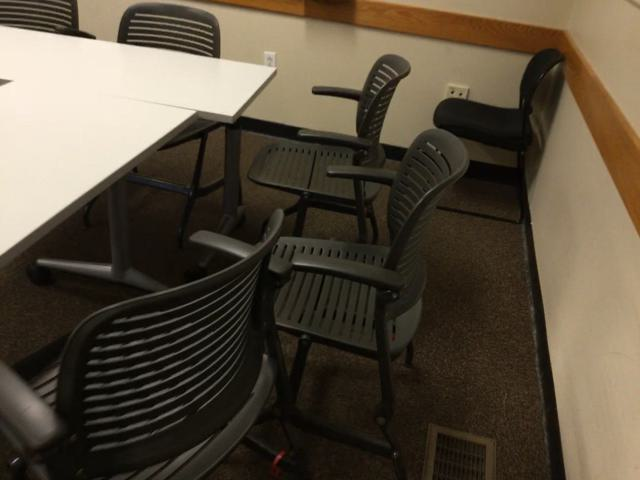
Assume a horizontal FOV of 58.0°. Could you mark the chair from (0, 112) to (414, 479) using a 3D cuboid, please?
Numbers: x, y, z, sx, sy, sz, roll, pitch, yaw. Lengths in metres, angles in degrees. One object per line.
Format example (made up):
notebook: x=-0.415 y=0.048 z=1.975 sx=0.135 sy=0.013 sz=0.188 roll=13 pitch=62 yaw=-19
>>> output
chair: x=-0.300 y=0.300 z=1.070 sx=0.660 sy=0.780 sz=0.580 roll=19 pitch=33 yaw=13

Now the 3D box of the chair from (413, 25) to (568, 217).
chair: x=0.820 y=-0.600 z=2.880 sx=0.490 sy=0.730 sz=0.490 roll=15 pitch=33 yaw=7

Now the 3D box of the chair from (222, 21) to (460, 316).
chair: x=0.000 y=-0.260 z=2.160 sx=0.570 sy=0.850 sz=0.630 roll=5 pitch=30 yaw=-17

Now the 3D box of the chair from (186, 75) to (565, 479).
chair: x=0.050 y=0.130 z=1.500 sx=0.650 sy=0.840 sz=0.640 roll=7 pitch=33 yaw=-6

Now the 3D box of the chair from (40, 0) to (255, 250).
chair: x=-0.670 y=-0.490 z=2.360 sx=0.600 sy=0.790 sz=0.500 roll=15 pitch=33 yaw=8
